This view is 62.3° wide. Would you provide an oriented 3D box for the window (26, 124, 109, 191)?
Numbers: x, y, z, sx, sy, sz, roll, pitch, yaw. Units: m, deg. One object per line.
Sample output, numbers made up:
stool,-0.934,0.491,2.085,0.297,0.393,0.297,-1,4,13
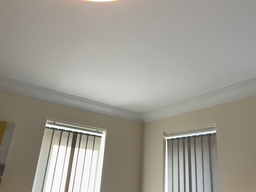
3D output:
window,-0.560,1.050,1.850,0.700,1.510,0.040,18,-24,-32
